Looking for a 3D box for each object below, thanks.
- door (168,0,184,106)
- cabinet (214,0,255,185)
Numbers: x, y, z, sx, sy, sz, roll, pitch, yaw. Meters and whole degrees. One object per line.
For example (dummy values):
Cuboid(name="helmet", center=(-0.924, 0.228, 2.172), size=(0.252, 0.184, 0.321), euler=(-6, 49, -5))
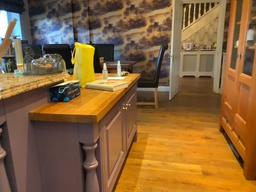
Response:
Cuboid(name="door", center=(0.960, -0.920, 4.210), size=(0.050, 2.070, 0.930), euler=(6, 15, 22))
Cuboid(name="cabinet", center=(1.220, -0.280, 1.990), size=(0.400, 1.750, 1.150), euler=(2, 14, 11))
